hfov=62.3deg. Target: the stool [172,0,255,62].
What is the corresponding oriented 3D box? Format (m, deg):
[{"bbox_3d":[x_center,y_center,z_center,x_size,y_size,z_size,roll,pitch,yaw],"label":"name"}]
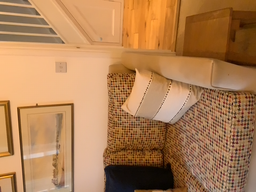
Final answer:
[{"bbox_3d":[0.620,-0.370,1.280,0.430,0.510,0.290,28,118,61],"label":"stool"}]
